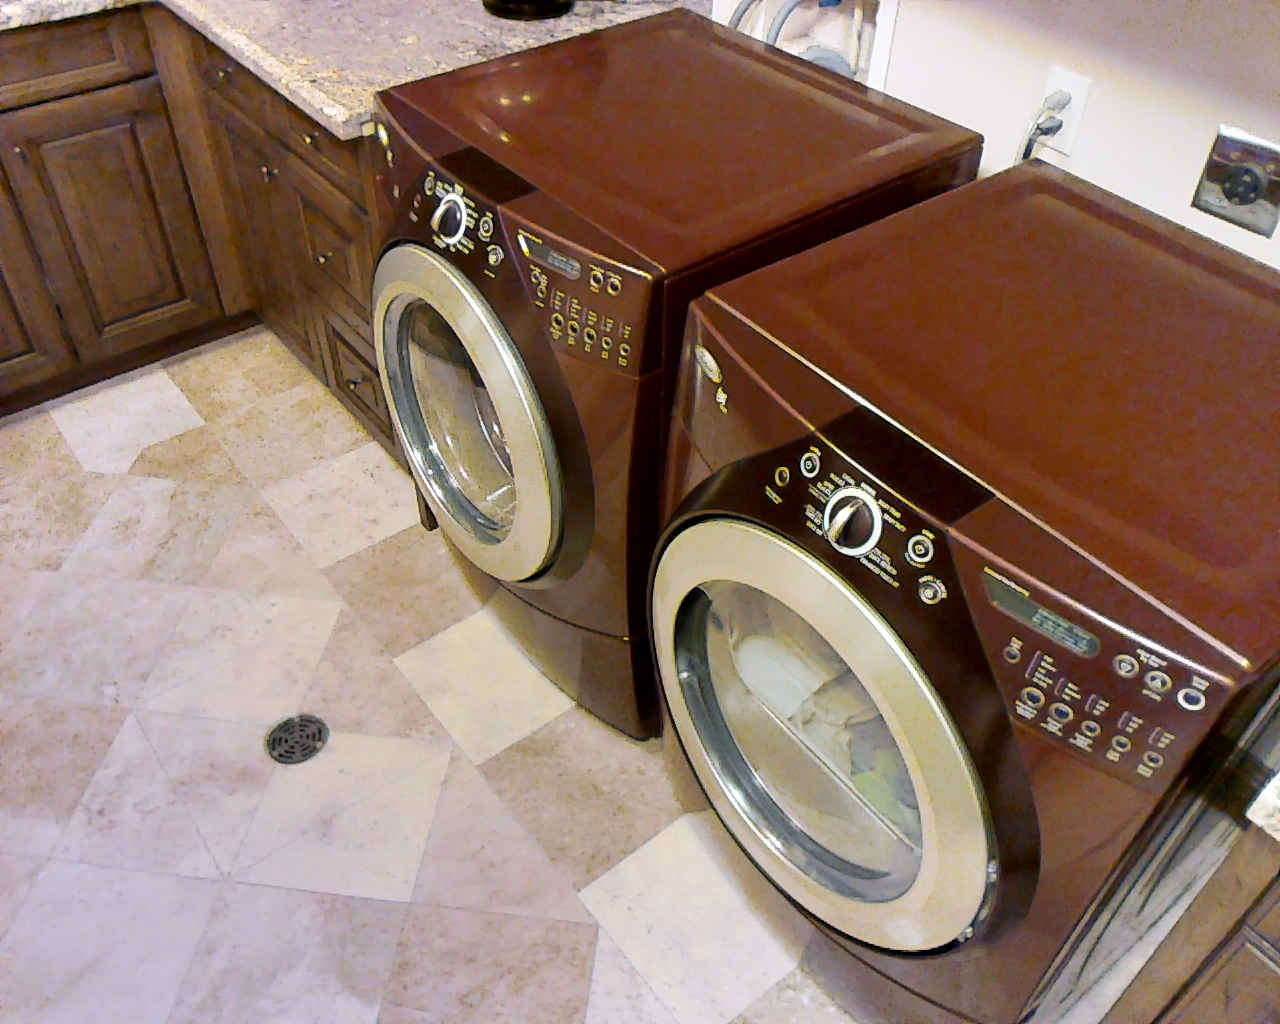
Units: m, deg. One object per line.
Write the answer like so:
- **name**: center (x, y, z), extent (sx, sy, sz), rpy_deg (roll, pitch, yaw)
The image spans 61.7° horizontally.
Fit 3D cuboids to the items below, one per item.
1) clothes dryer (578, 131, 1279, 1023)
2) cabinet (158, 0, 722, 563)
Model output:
- **clothes dryer**: center (0.470, 0.190, 1.460), extent (0.800, 1.000, 0.730), rpy_deg (-28, 50, -28)
- **cabinet**: center (-0.400, -0.620, 2.350), extent (0.760, 0.970, 0.800), rpy_deg (-28, 50, -28)
